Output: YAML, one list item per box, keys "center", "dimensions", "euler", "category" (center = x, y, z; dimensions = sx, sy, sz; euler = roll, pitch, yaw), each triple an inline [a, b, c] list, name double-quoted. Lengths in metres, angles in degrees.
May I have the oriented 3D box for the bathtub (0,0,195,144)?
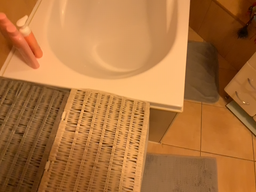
- center: [-0.030, -0.540, 1.440]
  dimensions: [0.800, 0.560, 1.480]
  euler: [10, 63, 3]
  category: "bathtub"
